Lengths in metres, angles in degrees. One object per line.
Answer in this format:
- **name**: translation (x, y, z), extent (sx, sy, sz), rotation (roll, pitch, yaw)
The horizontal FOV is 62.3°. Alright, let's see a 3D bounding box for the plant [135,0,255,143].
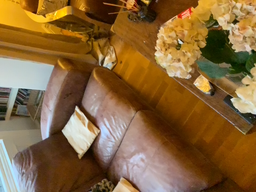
- **plant**: translation (0.340, -0.120, 0.650), extent (0.430, 0.330, 0.340), rotation (5, 31, -47)

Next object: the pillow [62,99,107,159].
- **pillow**: translation (-0.360, 0.250, 1.690), extent (0.110, 0.300, 0.360), rotation (-2, 33, -45)
